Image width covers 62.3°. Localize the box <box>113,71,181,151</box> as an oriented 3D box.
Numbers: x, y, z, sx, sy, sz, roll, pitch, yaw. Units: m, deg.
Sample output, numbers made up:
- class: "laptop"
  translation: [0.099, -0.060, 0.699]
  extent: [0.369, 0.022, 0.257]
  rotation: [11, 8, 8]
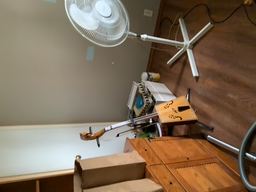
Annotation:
- class: "box"
  translation: [0.170, 0.140, 2.520]
  extent: [0.720, 0.380, 0.660]
  rotation: [-132, 48, -55]
